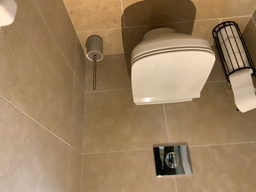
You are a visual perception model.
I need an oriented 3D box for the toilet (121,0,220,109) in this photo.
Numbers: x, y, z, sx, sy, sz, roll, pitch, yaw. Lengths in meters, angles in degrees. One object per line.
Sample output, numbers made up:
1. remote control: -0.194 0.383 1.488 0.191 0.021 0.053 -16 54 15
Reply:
1. toilet: 0.180 -0.220 1.150 0.370 0.380 0.540 -5 154 2
